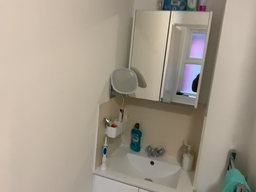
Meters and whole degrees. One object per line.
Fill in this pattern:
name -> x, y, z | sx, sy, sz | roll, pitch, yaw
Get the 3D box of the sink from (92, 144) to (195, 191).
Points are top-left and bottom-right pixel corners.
sink -> 0.130, 0.550, 1.490 | 0.610, 0.130, 0.440 | 10, 13, 19

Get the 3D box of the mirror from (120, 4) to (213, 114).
mirror -> 0.250, -0.280, 1.560 | 0.580, 0.730, 0.070 | 10, 13, 20
